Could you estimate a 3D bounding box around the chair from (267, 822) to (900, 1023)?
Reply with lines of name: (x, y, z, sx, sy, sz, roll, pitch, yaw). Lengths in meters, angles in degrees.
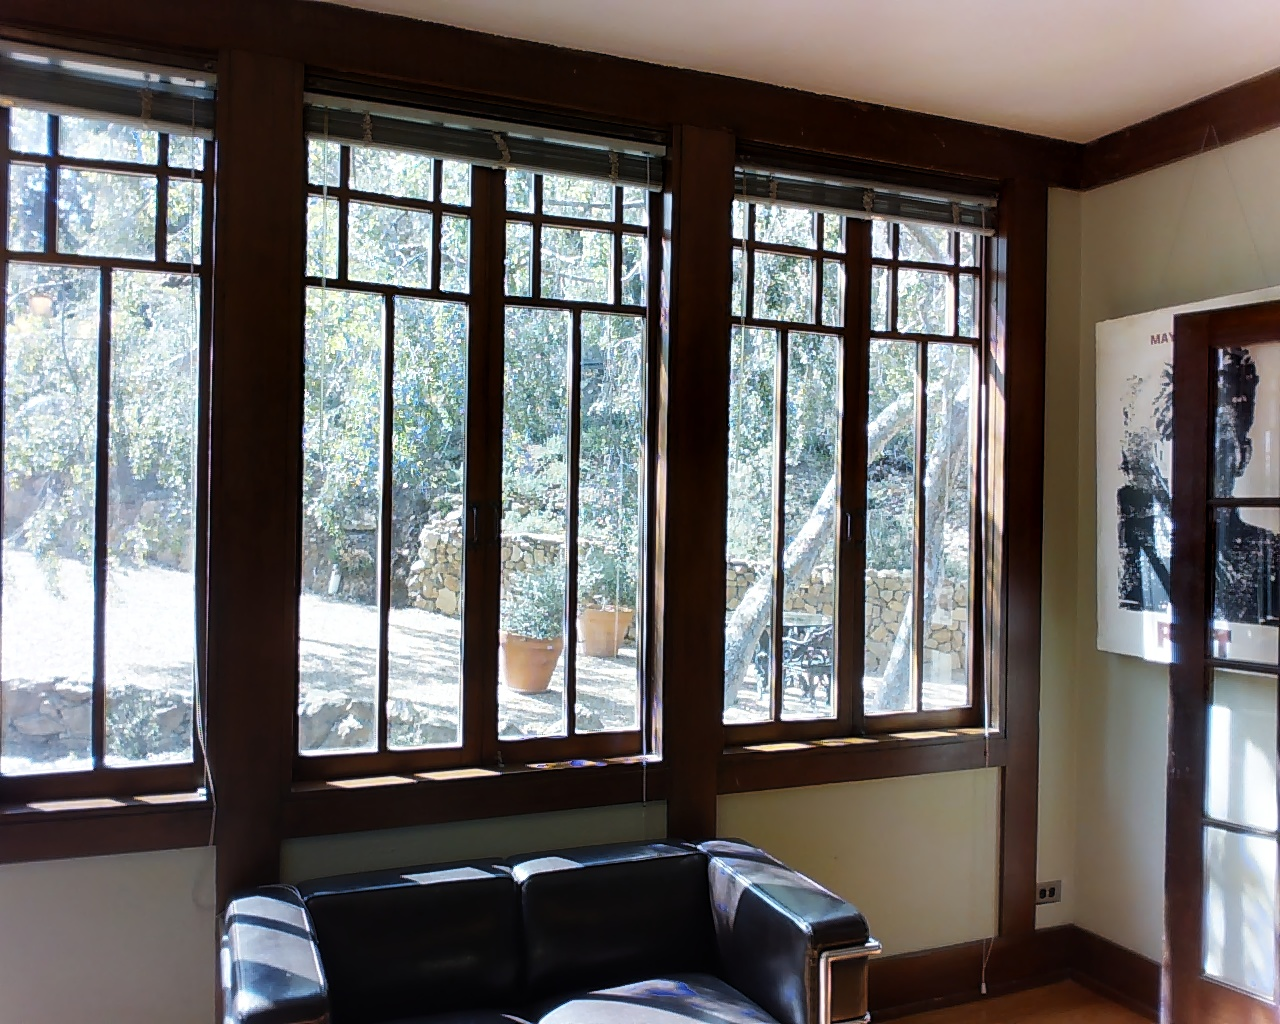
chair: (-0.170, 1.220, 2.550, 1.300, 0.640, 0.790, 1, 0, -22)

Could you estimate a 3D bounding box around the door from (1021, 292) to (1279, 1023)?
door: (1.610, 0.510, 3.040, 0.250, 2.130, 1.200, 1, 0, -21)
